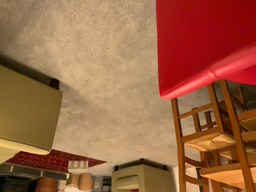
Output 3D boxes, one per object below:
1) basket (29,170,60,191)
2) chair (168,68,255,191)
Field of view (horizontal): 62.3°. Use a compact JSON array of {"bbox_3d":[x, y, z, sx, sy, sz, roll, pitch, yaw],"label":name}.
[{"bbox_3d":[-1.570,1.670,3.980,0.400,0.430,0.340,-28,140,36],"label":"basket"},{"bbox_3d":[0.690,0.340,1.640,0.420,0.900,0.490,26,139,-37],"label":"chair"}]
